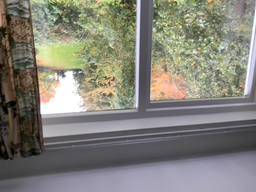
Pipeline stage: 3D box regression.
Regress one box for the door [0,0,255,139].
[{"bbox_3d":[0.170,-0.800,1.170,1.810,2.000,0.110,-3,-165,-15],"label":"door"}]
